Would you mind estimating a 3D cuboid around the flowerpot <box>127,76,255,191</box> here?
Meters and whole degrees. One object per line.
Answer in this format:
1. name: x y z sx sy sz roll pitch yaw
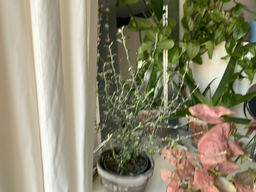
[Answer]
1. flowerpot: 0.170 0.180 0.480 0.240 0.390 0.250 15 19 35
